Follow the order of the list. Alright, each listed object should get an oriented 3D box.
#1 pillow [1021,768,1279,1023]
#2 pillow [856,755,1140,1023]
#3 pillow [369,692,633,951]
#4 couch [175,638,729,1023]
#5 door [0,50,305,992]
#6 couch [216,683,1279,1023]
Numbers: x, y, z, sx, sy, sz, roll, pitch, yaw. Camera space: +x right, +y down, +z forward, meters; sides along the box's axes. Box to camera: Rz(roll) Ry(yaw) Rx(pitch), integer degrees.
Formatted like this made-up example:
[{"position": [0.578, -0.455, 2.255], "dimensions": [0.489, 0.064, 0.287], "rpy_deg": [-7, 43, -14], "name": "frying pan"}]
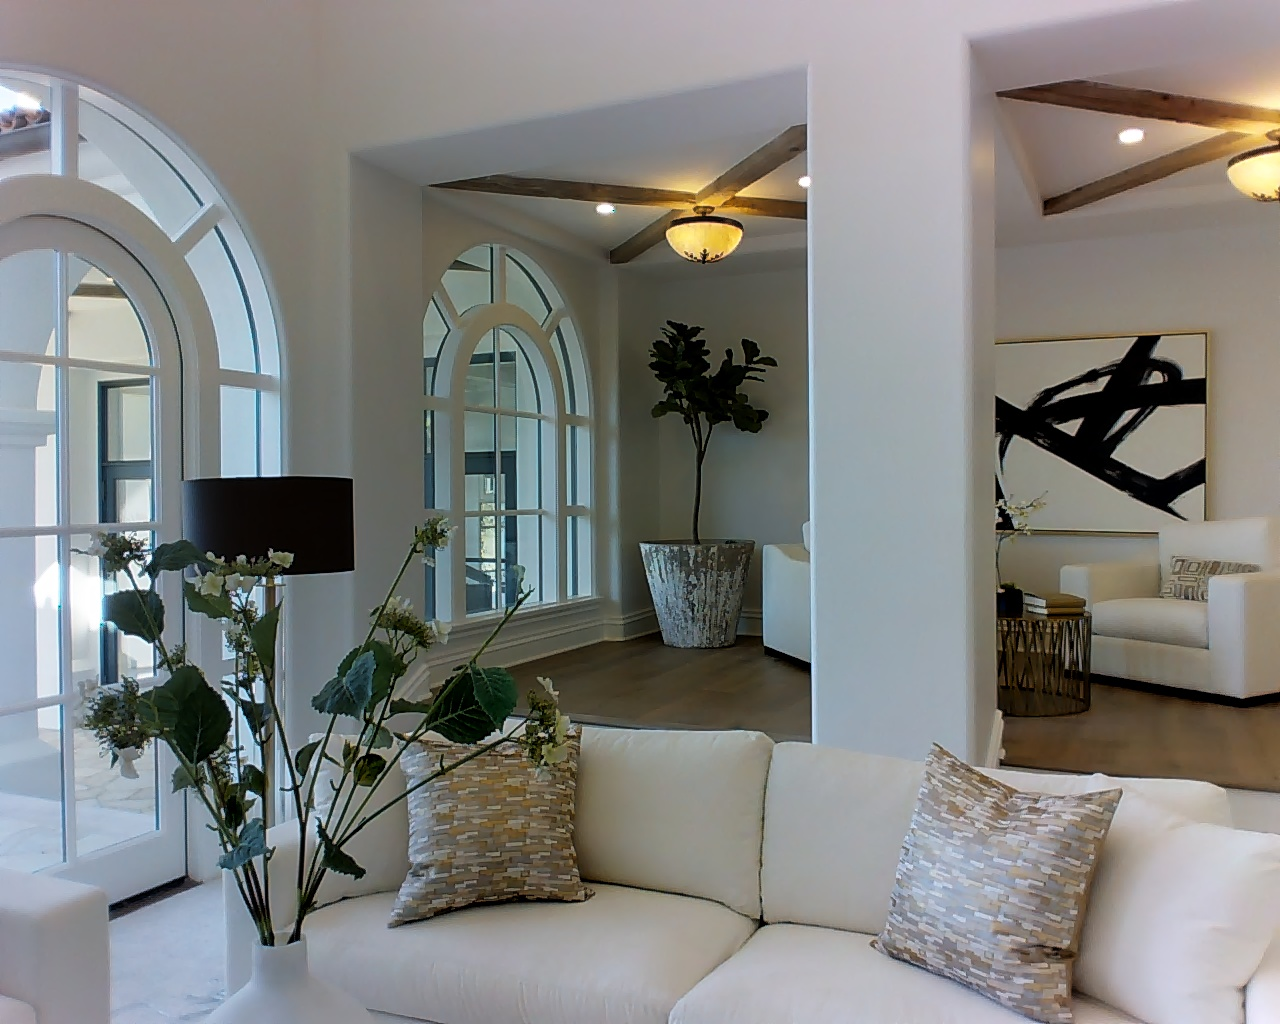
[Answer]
[{"position": [1.180, 0.900, 2.380], "dimensions": [0.290, 0.520, 0.530], "rpy_deg": [32, -34, -24], "name": "pillow"}, {"position": [0.830, 0.880, 2.510], "dimensions": [0.240, 0.520, 0.570], "rpy_deg": [28, -30, -27], "name": "pillow"}, {"position": [-0.390, 0.880, 3.060], "dimensions": [0.580, 0.500, 0.250], "rpy_deg": [22, -34, -5], "name": "pillow"}, {"position": [-0.480, 0.860, 2.730], "dimensions": [1.120, 0.920, 1.100], "rpy_deg": [0, 0, -14], "name": "couch"}, {"position": [-2.079, 0.030, 4.030], "dimensions": [0.200, 3.181, 2.080], "rpy_deg": [0, 0, 26], "name": "door"}, {"position": [0.310, 1.120, 2.890], "dimensions": [2.809, 0.970, 1.090], "rpy_deg": [0, 0, 26], "name": "couch"}]
